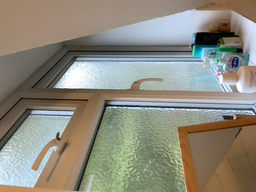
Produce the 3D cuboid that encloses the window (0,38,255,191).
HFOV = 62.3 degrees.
[{"bbox_3d":[-0.010,-0.020,0.840,1.150,0.950,0.070,-81,-10,-57],"label":"window"}]
